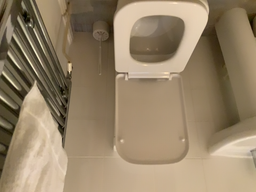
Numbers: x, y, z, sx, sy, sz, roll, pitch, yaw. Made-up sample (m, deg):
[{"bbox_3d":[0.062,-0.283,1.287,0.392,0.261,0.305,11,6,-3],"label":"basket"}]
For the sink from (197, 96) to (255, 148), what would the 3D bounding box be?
[{"bbox_3d":[0.620,0.140,0.990,0.460,0.140,0.350,1,156,-3],"label":"sink"}]

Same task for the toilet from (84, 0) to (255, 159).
[{"bbox_3d":[0.090,-0.190,0.950,0.430,0.830,0.620,1,156,-3],"label":"toilet"}]
